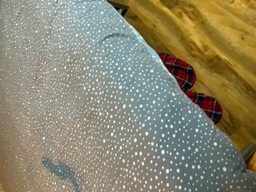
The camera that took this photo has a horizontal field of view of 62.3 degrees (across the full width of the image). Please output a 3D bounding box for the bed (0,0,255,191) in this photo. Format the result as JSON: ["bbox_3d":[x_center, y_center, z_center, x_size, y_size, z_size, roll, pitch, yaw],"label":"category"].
[{"bbox_3d":[-0.500,-0.050,1.370,2.010,0.600,1.500,54,127,24],"label":"bed"}]
